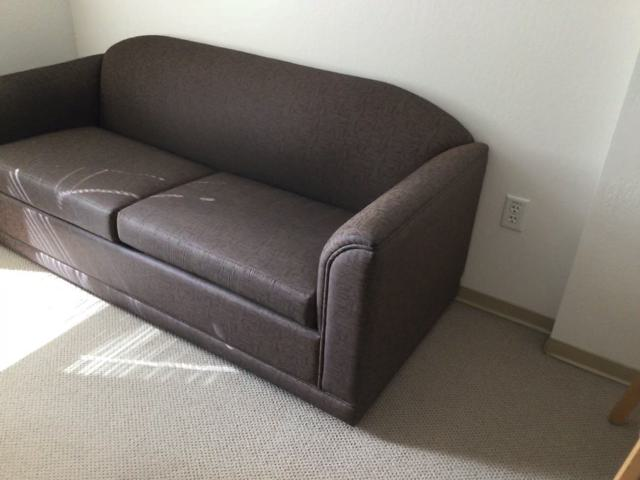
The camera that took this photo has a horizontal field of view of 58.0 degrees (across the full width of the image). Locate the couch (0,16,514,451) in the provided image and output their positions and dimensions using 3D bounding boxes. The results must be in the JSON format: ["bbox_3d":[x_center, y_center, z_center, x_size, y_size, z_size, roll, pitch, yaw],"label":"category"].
[{"bbox_3d":[-0.450,-0.220,2.110,1.930,0.770,0.890,18,34,23],"label":"couch"}]
